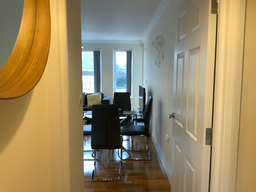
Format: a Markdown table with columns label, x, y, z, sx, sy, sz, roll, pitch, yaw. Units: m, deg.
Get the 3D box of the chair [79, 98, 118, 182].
| label | x | y | z | sx | sy | sz | roll | pitch | yaw |
| --- | --- | --- | --- | --- | --- | --- | --- | --- | --- |
| chair | -0.390 | 0.570 | 2.980 | 0.480 | 1.020 | 0.580 | 0 | 6 | -4 |
